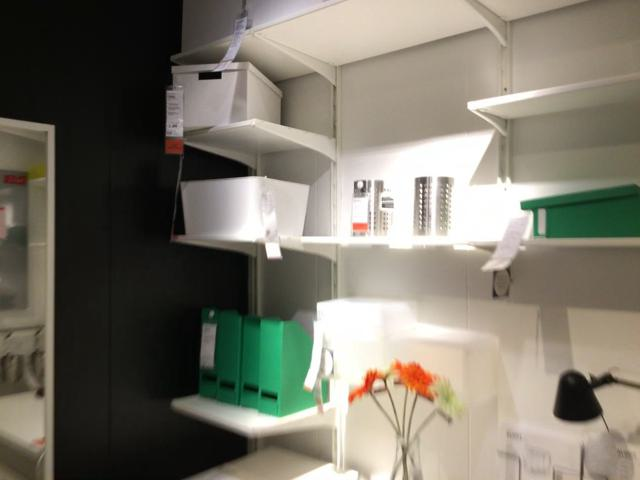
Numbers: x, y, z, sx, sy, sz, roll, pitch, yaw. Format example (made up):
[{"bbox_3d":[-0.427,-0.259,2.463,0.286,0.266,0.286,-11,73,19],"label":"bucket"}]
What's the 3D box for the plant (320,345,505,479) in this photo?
[{"bbox_3d":[0.260,0.560,1.600,0.350,0.460,0.380,-1,-3,43],"label":"plant"}]
